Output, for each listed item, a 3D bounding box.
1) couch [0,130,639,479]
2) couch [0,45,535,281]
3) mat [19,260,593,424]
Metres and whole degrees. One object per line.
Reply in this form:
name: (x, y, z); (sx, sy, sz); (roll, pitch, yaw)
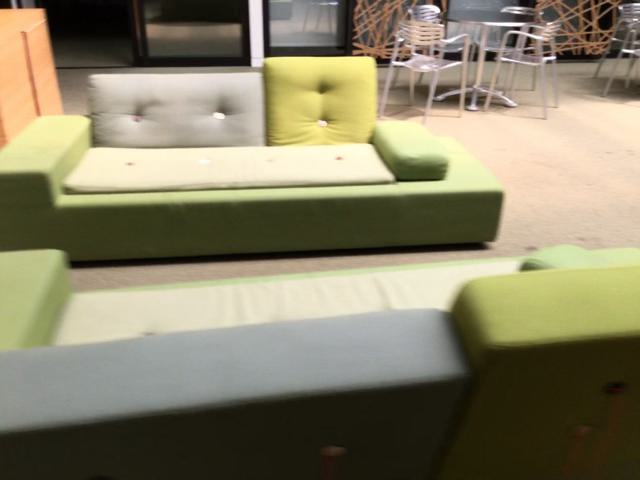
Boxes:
couch: (0.170, 0.260, 1.540); (2.260, 0.810, 1.020); (-3, 27, -9)
couch: (-0.300, -0.460, 2.860); (2.250, 0.800, 0.980); (-3, 28, -9)
mat: (-0.020, 0.240, 1.610); (1.380, 0.080, 0.490); (-3, 27, -9)
